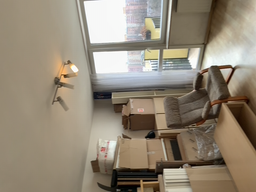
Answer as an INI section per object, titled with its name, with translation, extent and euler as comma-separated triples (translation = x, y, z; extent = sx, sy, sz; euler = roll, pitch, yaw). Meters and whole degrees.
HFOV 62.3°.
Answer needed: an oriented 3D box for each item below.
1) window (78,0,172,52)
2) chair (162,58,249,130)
[window]
translation = -0.050, -1.690, 3.780
extent = 0.220, 1.610, 1.870
euler = -92, 0, -46
[chair]
translation = 1.120, -0.010, 3.370
extent = 0.850, 0.970, 0.740
euler = 88, 180, -54
